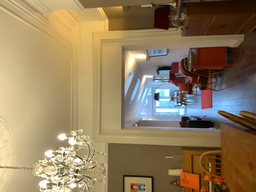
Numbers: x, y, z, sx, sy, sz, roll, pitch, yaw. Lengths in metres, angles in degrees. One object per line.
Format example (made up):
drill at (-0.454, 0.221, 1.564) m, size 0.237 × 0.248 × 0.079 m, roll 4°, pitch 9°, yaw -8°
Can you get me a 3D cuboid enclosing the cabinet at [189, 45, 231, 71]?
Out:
cabinet at (1.800, -0.830, 4.750) m, size 0.680 × 0.730 × 0.490 m, roll -31°, pitch -60°, yaw -80°
